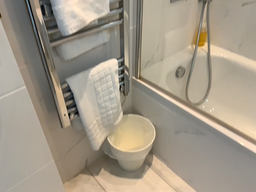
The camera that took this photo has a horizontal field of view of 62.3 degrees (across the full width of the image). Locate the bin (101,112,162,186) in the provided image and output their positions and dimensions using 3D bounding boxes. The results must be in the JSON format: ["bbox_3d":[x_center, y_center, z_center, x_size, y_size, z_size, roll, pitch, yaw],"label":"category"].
[{"bbox_3d":[0.020,0.320,1.310,0.260,0.280,0.240,-26,46,-28],"label":"bin"}]
